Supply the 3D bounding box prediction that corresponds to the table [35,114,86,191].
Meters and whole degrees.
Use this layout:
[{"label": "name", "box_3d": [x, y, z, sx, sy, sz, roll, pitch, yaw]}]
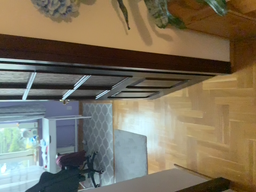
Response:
[{"label": "table", "box_3d": [-1.330, 1.050, 4.150, 0.670, 0.760, 1.330, -5, 87, 57]}]
